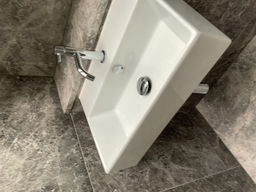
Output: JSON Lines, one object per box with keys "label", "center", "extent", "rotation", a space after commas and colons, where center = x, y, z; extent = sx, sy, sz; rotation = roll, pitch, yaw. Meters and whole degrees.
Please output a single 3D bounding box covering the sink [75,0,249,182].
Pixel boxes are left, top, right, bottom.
{"label": "sink", "center": [0.020, -0.040, 0.730], "extent": [0.590, 0.170, 0.380], "rotation": [-61, 44, 36]}
